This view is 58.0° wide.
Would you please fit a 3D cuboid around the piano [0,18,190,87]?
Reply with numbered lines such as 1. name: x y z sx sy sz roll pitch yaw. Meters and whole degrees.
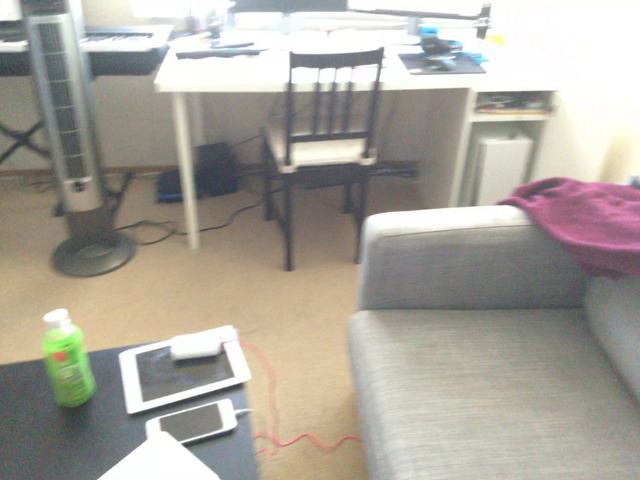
1. piano: -1.230 -0.750 2.290 1.350 0.170 0.360 -1 33 -3

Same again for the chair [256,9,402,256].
1. chair: 0.010 -0.420 2.250 0.460 0.800 0.530 -1 33 -3
